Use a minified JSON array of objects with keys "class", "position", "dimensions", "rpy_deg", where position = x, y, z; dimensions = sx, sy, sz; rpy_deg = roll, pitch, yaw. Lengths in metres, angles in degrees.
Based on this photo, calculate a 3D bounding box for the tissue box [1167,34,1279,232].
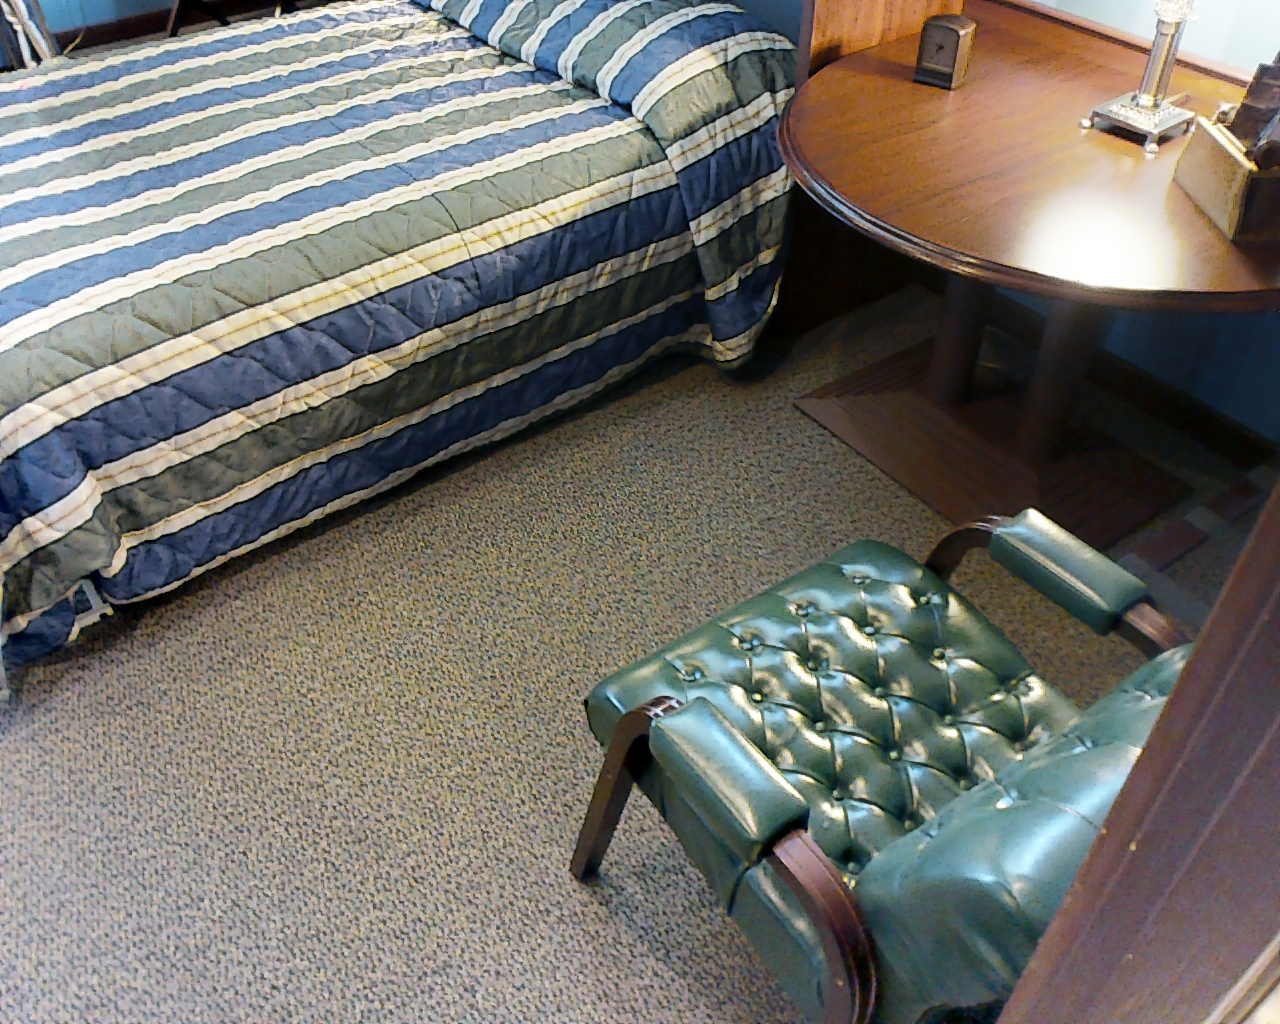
[{"class":"tissue box","position":[1.010,-0.620,1.760],"dimensions":[0.140,0.230,0.240],"rpy_deg":[0,42,2]}]
